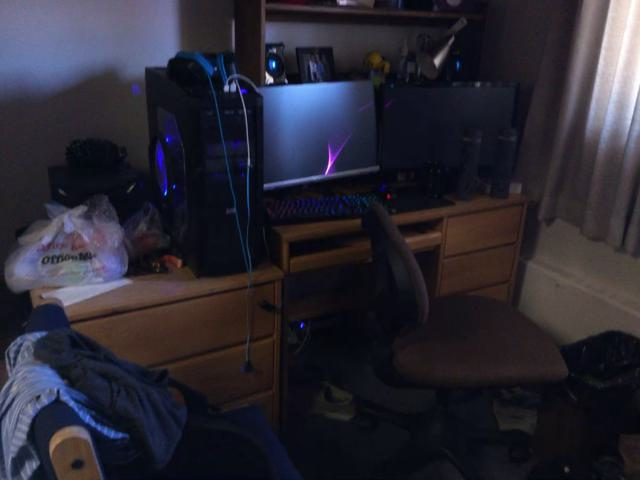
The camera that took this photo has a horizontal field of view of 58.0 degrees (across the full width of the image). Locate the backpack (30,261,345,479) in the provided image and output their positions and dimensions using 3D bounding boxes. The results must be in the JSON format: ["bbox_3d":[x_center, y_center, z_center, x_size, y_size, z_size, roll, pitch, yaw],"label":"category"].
[{"bbox_3d":[-0.300,0.550,1.220,0.400,0.810,0.560,-10,25,-31],"label":"backpack"}]

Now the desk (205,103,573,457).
[{"bbox_3d":[0.240,0.040,2.310,1.190,1.030,0.680,-10,25,-31],"label":"desk"}]
